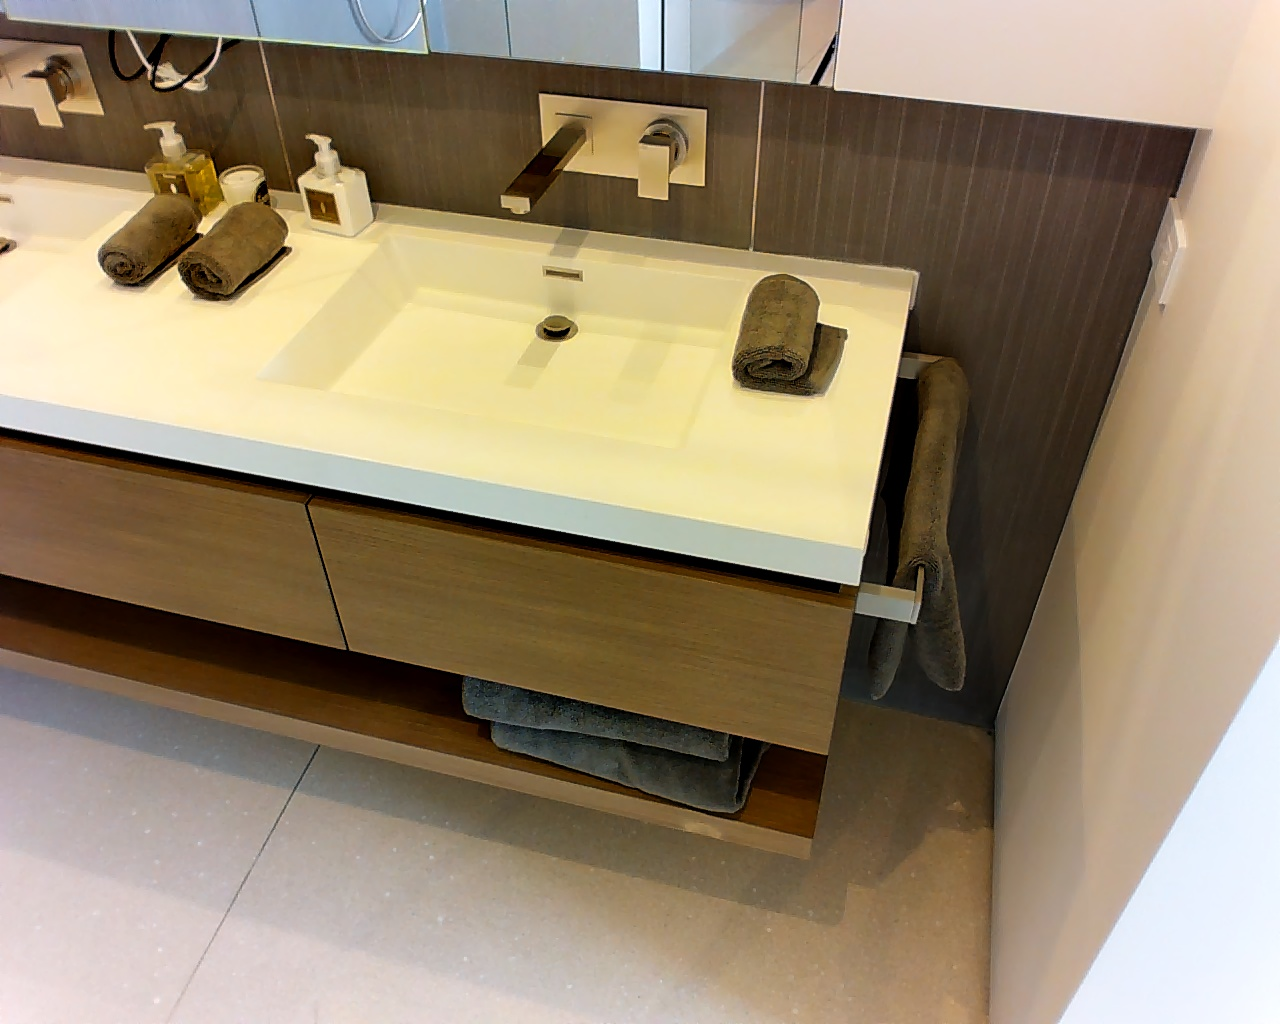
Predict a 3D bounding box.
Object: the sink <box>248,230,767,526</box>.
[{"bbox_3d":[-0.140,-0.190,1.350,0.530,0.100,0.390,10,42,11],"label":"sink"}]
